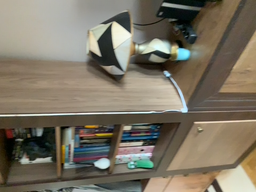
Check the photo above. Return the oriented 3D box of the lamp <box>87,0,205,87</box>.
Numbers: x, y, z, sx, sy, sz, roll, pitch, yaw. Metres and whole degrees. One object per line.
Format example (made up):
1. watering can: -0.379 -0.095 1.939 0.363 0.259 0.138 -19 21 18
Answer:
1. lamp: 0.050 -0.290 1.140 0.360 0.490 0.320 -108 24 -46
